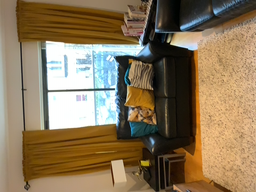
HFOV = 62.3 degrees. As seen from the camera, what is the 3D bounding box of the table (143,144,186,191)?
[{"bbox_3d":[0.550,1.090,3.280,0.460,0.500,0.520,-176,84,-73],"label":"table"}]
